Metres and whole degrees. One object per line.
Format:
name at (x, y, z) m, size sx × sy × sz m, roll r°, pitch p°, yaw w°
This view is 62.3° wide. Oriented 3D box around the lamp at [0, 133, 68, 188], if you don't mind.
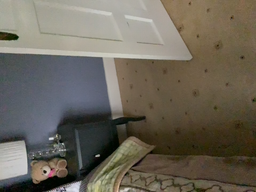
lamp at (-0.750, 0.480, 1.650) m, size 0.220 × 0.470 × 0.290 m, roll -24°, pitch 74°, yaw 54°
